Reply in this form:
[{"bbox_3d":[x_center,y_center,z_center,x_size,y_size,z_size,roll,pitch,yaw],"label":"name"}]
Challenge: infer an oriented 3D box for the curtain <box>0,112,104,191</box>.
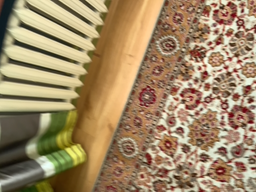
[{"bbox_3d":[-0.880,0.350,0.370,0.190,2.620,0.590,21,95,24],"label":"curtain"}]
